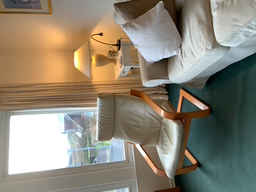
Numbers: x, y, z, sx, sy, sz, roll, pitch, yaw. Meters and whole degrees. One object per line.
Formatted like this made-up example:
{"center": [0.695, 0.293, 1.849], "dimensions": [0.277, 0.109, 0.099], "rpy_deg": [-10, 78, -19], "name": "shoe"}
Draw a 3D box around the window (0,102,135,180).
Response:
{"center": [-0.720, 0.520, 2.660], "dimensions": [0.160, 1.540, 0.790], "rpy_deg": [134, 132, -68], "name": "window"}
